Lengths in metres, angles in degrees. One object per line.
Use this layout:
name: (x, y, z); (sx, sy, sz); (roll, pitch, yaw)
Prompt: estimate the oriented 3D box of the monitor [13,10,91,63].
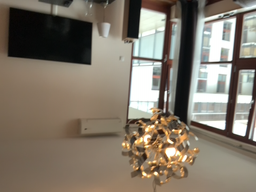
monitor: (-1.160, -0.900, 3.330); (1.140, 0.670, 0.060); (0, -174, -26)
